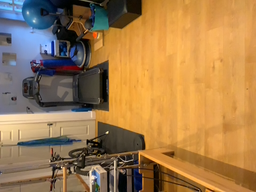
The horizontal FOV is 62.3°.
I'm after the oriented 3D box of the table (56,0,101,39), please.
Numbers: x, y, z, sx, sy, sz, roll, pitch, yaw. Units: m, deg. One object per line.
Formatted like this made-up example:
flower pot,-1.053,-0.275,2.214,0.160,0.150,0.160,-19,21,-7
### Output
table,-1.060,-1.570,4.470,0.630,0.780,0.520,9,98,62
